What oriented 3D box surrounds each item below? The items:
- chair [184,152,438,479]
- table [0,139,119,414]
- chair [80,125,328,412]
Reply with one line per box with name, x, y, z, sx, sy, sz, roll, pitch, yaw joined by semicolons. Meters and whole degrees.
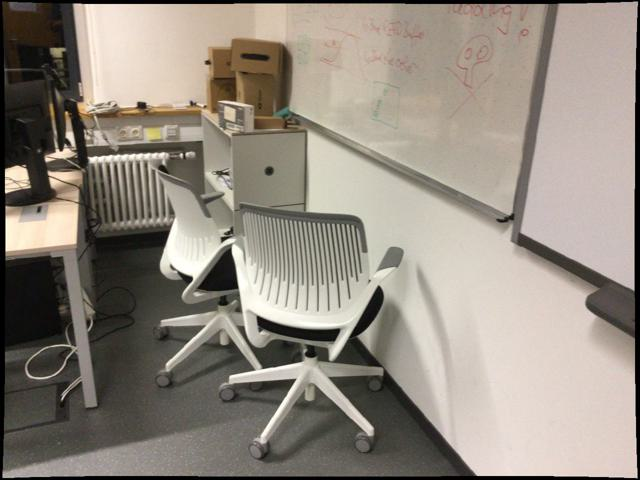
chair;0.020;0.230;2.160;0.619;0.901;0.730;9;26;22
table;-1.409;0.070;2.750;0.749;0.701;1.450;-9;25;-16
chair;-0.460;0.060;2.580;0.660;0.931;0.750;17;30;35
